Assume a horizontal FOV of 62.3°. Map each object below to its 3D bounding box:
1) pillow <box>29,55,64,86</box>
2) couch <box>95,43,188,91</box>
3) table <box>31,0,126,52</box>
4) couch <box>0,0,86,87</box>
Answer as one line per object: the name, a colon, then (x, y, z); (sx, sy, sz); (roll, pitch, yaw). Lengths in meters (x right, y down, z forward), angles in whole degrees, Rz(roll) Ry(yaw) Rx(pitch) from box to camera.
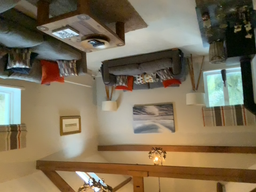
pillow: (-1.630, -0.520, 4.240); (0.500, 0.450, 0.310); (-24, -163, -22)
couch: (0.390, -0.670, 5.650); (2.200, 0.780, 1.160); (-5, 174, 21)
table: (-0.640, -1.060, 3.110); (0.820, 0.380, 1.190); (-5, 174, 21)
couch: (-2.020, -0.780, 3.140); (1.190, 0.800, 3.160); (-5, 174, 22)
